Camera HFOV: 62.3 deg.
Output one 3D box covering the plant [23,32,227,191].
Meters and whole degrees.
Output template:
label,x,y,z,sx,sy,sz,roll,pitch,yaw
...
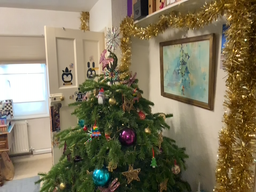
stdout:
label,x,y,z,sx,sy,sz,roll,pitch,yaw
plant,-0.150,0.400,1.970,1.260,1.700,1.330,-4,10,-21
